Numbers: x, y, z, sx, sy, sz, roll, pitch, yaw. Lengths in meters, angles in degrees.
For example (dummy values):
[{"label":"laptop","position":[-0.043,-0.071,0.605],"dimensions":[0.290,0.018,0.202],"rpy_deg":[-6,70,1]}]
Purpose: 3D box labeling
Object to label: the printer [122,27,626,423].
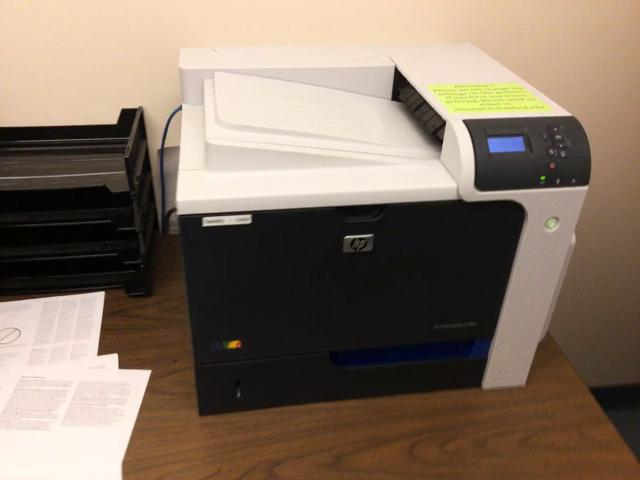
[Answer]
[{"label":"printer","position":[0.030,-0.070,0.970],"dimensions":[0.570,0.420,0.520],"rpy_deg":[-3,34,-8]}]
